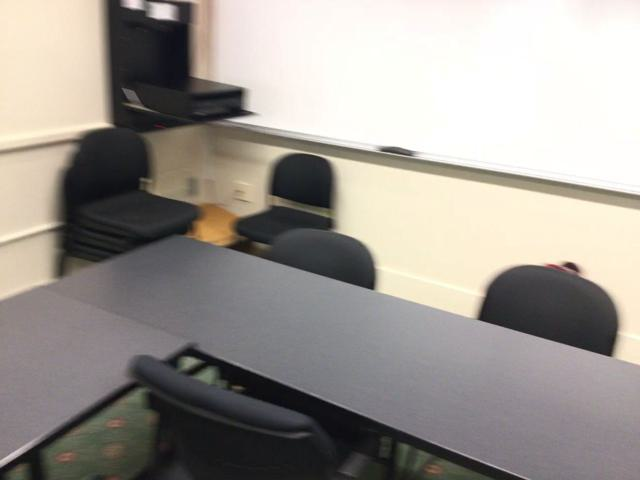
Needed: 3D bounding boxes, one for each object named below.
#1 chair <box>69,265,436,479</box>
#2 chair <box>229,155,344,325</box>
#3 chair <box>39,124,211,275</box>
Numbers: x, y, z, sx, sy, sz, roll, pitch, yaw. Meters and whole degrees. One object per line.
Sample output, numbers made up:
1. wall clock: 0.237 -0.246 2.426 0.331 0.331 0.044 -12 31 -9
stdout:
1. chair: -0.130 0.430 1.420 0.580 0.480 0.650 13 18 28
2. chair: -0.180 -0.030 3.140 0.360 0.780 0.510 13 18 28
3. chair: -0.890 -0.220 2.680 0.620 0.550 0.430 13 18 27
